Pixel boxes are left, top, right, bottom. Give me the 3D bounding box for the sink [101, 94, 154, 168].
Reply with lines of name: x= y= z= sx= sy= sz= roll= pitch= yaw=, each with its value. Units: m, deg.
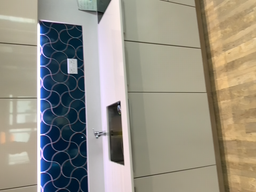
sink: x=-0.030 y=0.290 z=1.810 sx=0.500 sy=0.240 sz=0.530 roll=158 pitch=110 yaw=-65
